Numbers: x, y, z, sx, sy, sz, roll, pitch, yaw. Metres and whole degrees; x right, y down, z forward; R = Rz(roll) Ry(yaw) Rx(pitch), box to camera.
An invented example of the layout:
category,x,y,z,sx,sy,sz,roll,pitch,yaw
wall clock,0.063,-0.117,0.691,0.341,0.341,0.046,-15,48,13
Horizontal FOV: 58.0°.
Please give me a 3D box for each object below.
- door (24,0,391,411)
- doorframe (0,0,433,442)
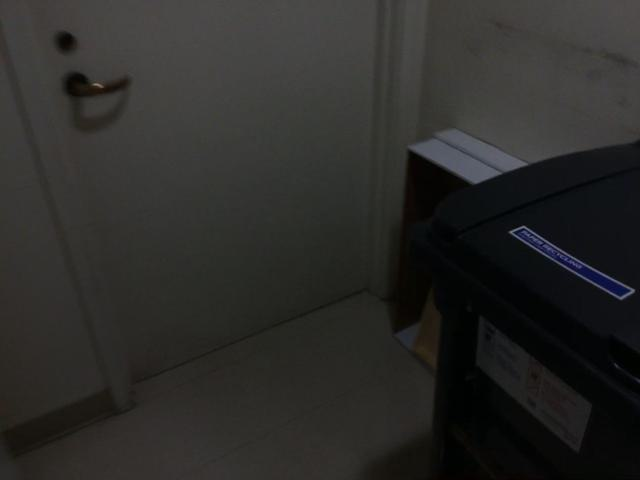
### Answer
category,x,y,z,sx,sy,sz,roll,pitch,yaw
door,-0.210,-0.490,1.410,0.870,1.930,0.120,-18,35,-27
doorframe,-0.190,-0.470,1.380,1.040,1.930,0.180,-18,35,-27
